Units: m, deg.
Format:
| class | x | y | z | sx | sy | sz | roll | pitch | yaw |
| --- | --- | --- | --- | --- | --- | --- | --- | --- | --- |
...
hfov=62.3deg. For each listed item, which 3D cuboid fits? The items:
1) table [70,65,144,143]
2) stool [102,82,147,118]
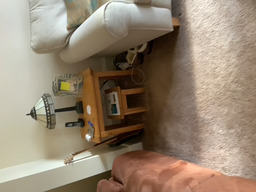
| class | x | y | z | sx | sy | sz | roll | pitch | yaw |
| --- | --- | --- | --- | --- | --- | --- | --- | --- | --- |
| table | -0.220 | 0.060 | 2.130 | 0.490 | 0.500 | 0.650 | -5 | 92 | 57 |
| stool | -0.040 | 0.040 | 2.040 | 0.300 | 0.290 | 0.290 | -5 | 92 | 57 |
